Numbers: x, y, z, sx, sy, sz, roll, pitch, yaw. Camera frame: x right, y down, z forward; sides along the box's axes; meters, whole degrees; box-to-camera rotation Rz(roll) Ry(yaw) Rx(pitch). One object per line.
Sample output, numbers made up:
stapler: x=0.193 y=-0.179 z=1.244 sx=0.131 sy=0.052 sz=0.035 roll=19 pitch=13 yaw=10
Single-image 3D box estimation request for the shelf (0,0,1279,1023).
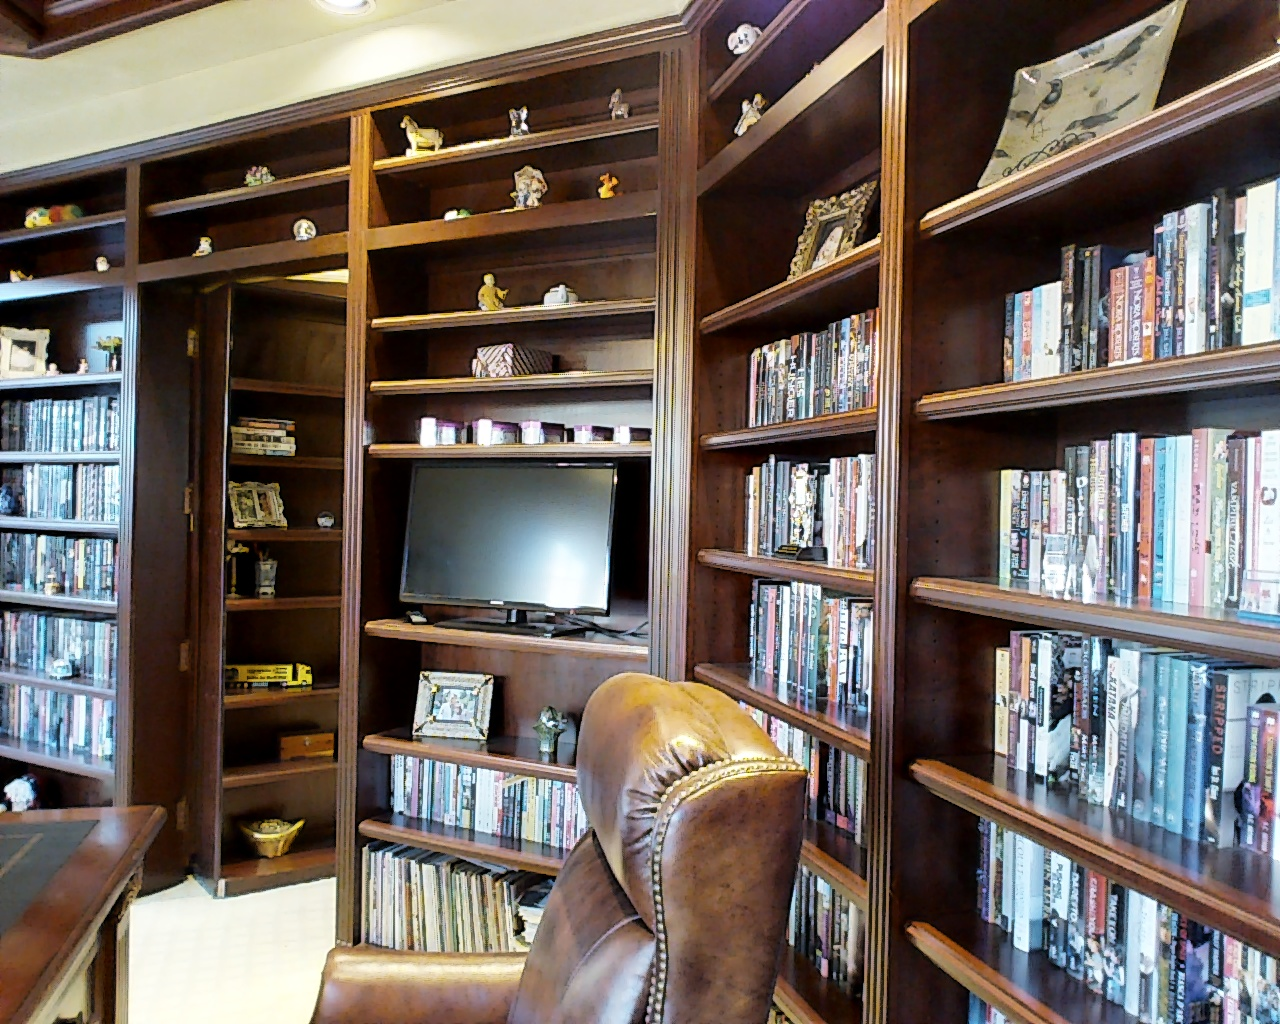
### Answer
shelf: x=-0.700 y=0.090 z=1.990 sx=2.600 sy=2.650 sz=5.870 roll=1 pitch=0 yaw=-17
